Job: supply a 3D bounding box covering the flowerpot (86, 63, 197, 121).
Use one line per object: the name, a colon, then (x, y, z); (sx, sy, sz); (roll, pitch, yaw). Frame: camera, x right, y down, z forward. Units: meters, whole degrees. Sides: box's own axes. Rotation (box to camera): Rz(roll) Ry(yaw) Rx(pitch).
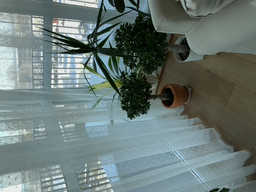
flowerpot: (0.090, -0.090, 2.090); (0.720, 0.810, 0.290); (39, 127, 54)
